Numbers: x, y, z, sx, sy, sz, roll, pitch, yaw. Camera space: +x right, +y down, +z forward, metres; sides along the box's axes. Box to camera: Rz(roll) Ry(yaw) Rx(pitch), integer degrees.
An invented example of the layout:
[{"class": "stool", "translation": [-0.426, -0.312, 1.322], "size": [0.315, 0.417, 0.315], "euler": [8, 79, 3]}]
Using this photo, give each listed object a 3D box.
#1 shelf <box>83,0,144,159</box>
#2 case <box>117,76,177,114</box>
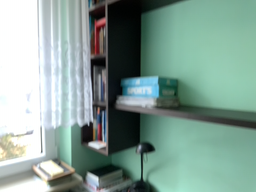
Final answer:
[{"class": "shelf", "translation": [-0.100, -0.260, 1.420], "size": [0.270, 1.240, 0.310], "euler": [-4, 6, -42]}, {"class": "case", "translation": [0.100, -0.020, 1.240], "size": [0.180, 0.190, 0.310], "euler": [-4, 6, -41]}]
